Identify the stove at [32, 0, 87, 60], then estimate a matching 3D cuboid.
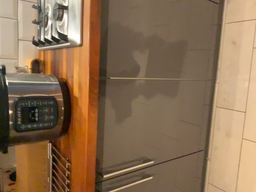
[{"bbox_3d":[-0.310,-0.470,0.880,0.570,0.030,0.630,13,103,52],"label":"stove"}]
